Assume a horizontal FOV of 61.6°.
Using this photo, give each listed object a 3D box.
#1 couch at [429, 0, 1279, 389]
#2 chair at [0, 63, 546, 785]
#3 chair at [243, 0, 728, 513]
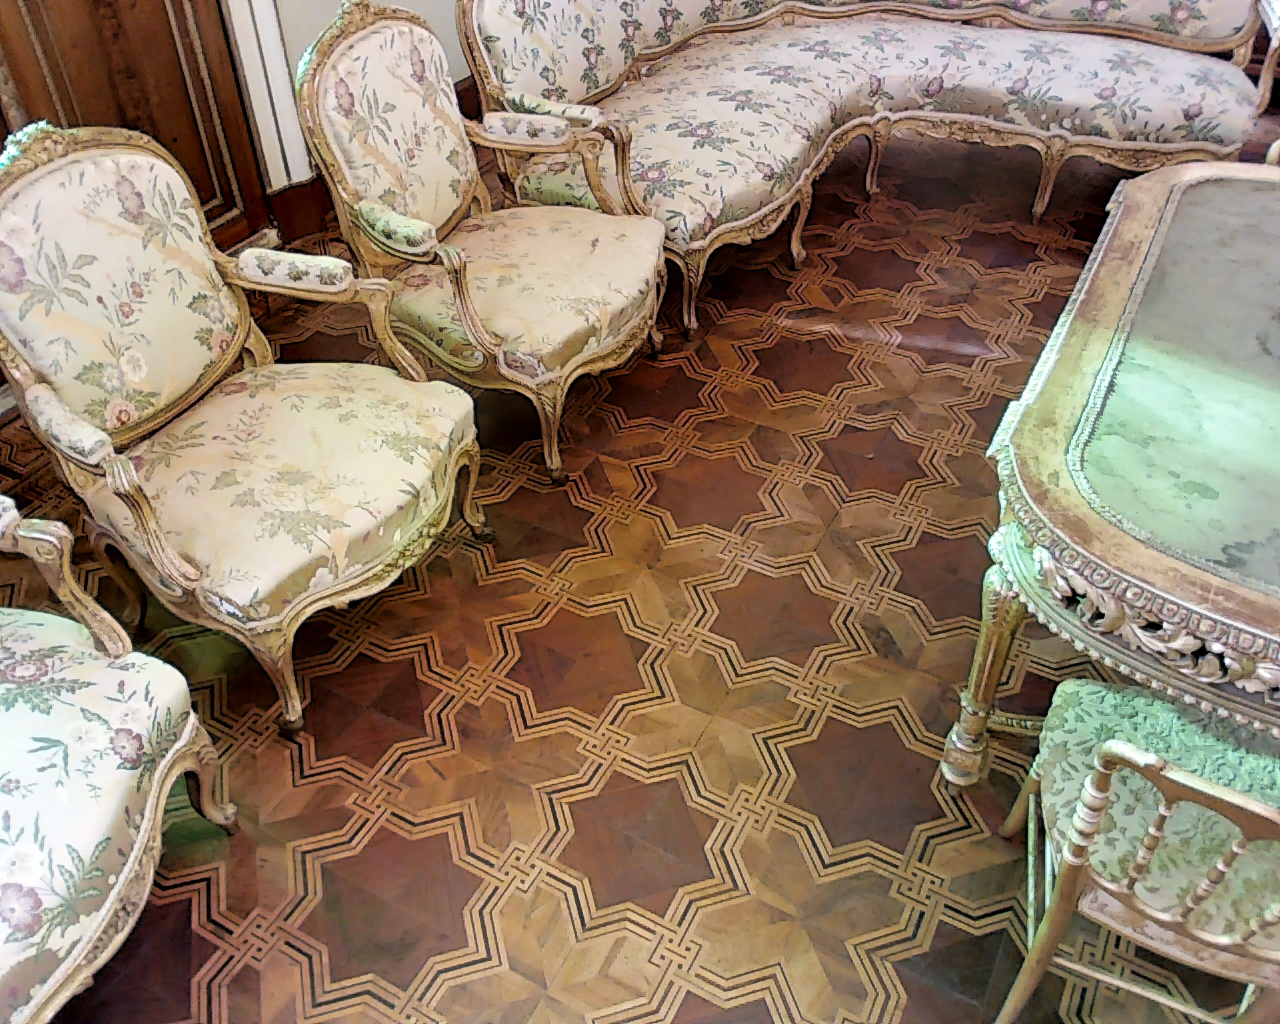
[{"bbox_3d":[0.870,-1.610,3.550,2.809,1.140,1.600,-15,43,-15],"label":"couch"},{"bbox_3d":[-0.740,-0.190,2.100,0.750,1.000,0.750,20,45,22],"label":"chair"},{"bbox_3d":[-0.310,-0.700,2.660,0.790,1.000,0.700,20,45,22],"label":"chair"}]
